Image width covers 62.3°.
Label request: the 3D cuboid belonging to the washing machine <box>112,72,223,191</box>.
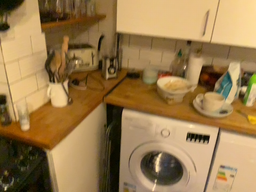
[{"bbox_3d":[0.300,0.390,1.700,0.620,0.910,0.690,11,27,16],"label":"washing machine"}]
